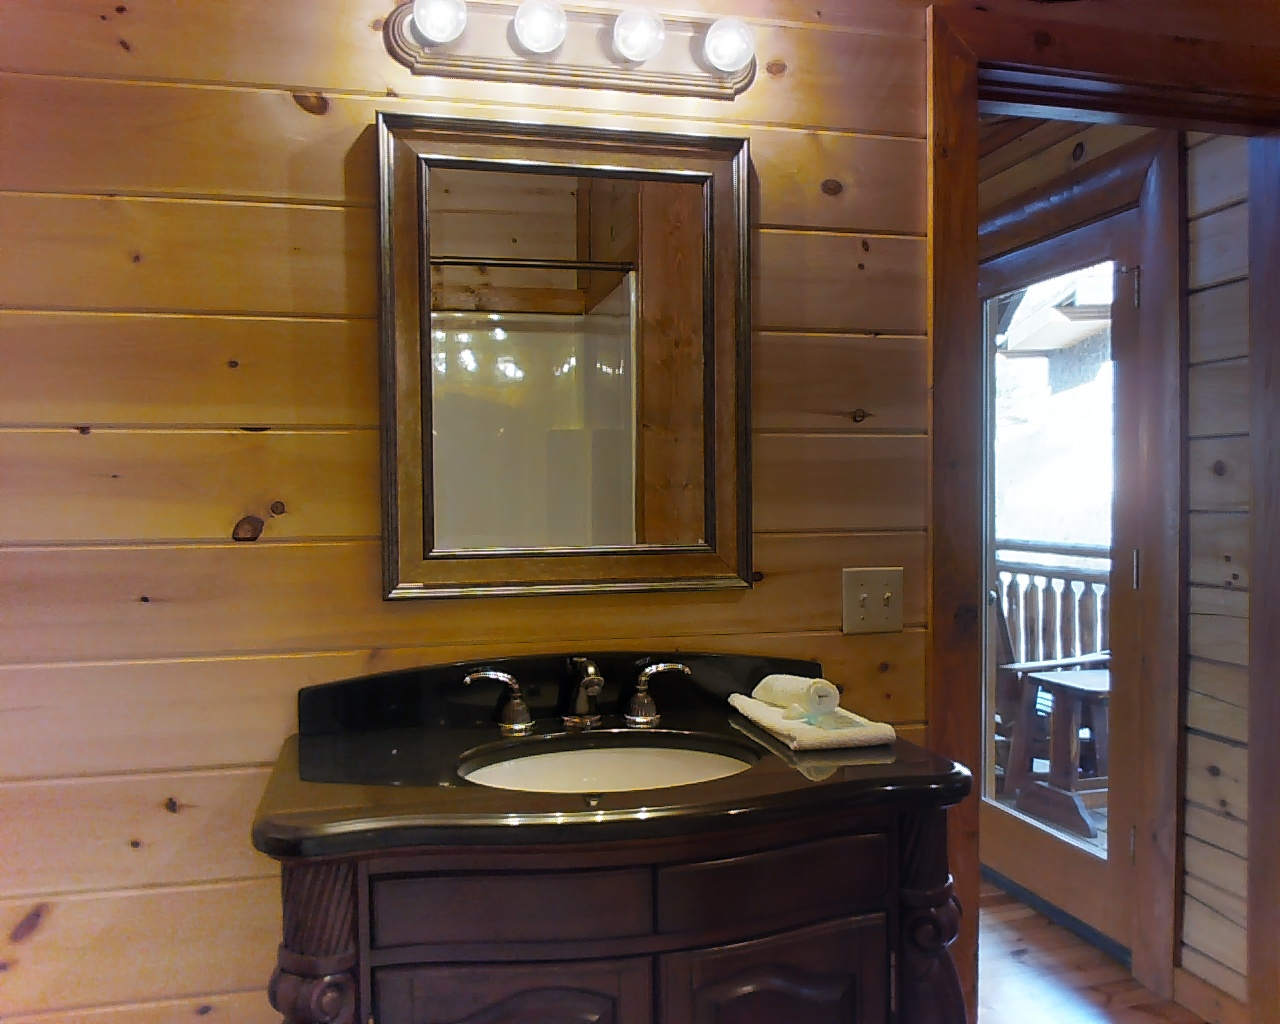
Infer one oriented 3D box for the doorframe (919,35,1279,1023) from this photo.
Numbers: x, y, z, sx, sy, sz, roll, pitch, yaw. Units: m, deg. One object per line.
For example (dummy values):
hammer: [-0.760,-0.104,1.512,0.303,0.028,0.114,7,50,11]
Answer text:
doorframe: [1.010,0.160,2.170,0.950,2.131,0.040,0,1,-13]
